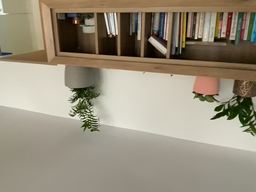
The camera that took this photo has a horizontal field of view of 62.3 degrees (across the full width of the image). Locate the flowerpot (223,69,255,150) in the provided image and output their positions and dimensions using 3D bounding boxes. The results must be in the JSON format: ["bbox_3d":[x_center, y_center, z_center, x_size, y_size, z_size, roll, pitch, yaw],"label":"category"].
[{"bbox_3d":[0.750,0.070,1.400,0.160,0.410,0.340,9,-158,21],"label":"flowerpot"}]

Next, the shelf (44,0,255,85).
[{"bbox_3d":[0.170,-0.390,1.360,1.380,0.430,0.350,8,-158,19],"label":"shelf"}]

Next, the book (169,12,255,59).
[{"bbox_3d":[0.550,-0.390,1.320,0.520,0.240,0.230,9,-158,21],"label":"book"}]

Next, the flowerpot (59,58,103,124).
[{"bbox_3d":[-0.370,-0.050,1.720,0.240,0.470,0.220,7,-158,17],"label":"flowerpot"}]

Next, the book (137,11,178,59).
[{"bbox_3d":[0.200,-0.420,1.440,0.220,0.290,0.190,8,-158,20],"label":"book"}]
